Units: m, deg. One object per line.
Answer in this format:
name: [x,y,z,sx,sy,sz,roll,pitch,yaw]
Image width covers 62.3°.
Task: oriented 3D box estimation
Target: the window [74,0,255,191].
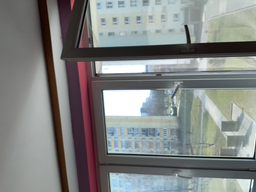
window: [0.390,0.380,1.720,0.180,1.500,2.420,-53,-38,-77]
